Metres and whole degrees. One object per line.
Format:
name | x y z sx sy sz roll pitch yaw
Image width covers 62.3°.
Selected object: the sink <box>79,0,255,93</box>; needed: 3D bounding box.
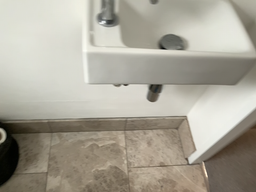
sink | 0.090 -0.140 0.560 0.410 0.120 0.230 1 57 -8
